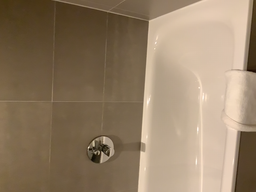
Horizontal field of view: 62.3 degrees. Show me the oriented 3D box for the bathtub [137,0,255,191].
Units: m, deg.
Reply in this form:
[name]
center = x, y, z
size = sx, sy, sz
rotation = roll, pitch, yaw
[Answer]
[bathtub]
center = 0.480, 0.380, 1.280
size = 0.690, 0.530, 1.650
rotation = 12, 99, 61
